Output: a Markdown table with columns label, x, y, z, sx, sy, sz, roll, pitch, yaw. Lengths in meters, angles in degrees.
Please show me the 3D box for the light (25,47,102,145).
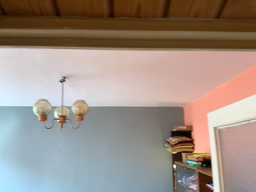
| label | x | y | z | sx | sy | sz | roll | pitch | yaw |
| --- | --- | --- | --- | --- | --- | --- | --- | --- | --- |
| light | -0.630 | 0.050 | 2.250 | 0.460 | 0.590 | 0.900 | -2 | -103 | 17 |
